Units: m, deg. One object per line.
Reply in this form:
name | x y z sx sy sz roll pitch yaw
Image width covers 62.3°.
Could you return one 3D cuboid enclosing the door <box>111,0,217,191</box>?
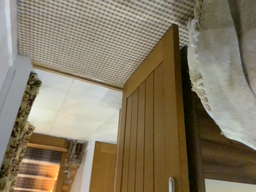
door | 0.090 0.520 1.120 0.070 1.930 0.980 12 152 -18
